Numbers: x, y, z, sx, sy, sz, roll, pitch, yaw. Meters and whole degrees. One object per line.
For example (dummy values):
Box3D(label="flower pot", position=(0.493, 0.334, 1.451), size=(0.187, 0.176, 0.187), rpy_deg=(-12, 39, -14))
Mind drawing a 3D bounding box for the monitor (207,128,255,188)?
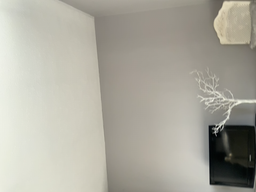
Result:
Box3D(label="monitor", position=(1.080, 0.650, 2.220), size=(0.060, 0.460, 0.630), rpy_deg=(-43, -50, -77))
